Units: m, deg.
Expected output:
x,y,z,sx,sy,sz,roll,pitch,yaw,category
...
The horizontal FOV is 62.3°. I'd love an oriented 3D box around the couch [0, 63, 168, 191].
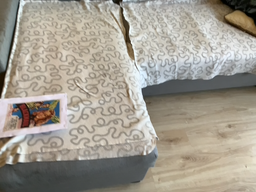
x,y,z,sx,sy,sz,roll,pitch,yaw,category
-0.260,0.210,1.140,0.700,0.480,0.540,-6,53,-13,couch
